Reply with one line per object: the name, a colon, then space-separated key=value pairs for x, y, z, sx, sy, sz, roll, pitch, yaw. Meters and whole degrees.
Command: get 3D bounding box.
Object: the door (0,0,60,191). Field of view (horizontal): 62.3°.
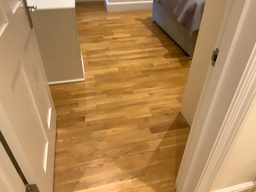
door: x=-0.490 y=-0.380 z=0.840 sx=0.060 sy=1.980 sz=0.790 roll=-7 pitch=40 yaw=-11
